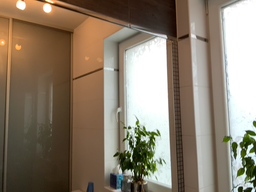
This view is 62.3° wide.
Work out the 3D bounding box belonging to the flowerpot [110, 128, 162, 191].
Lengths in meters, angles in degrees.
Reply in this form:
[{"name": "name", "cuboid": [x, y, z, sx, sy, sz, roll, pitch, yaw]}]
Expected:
[{"name": "flowerpot", "cuboid": [0.050, 0.560, 1.840, 0.190, 0.530, 0.470, 3, -6, -37]}]
